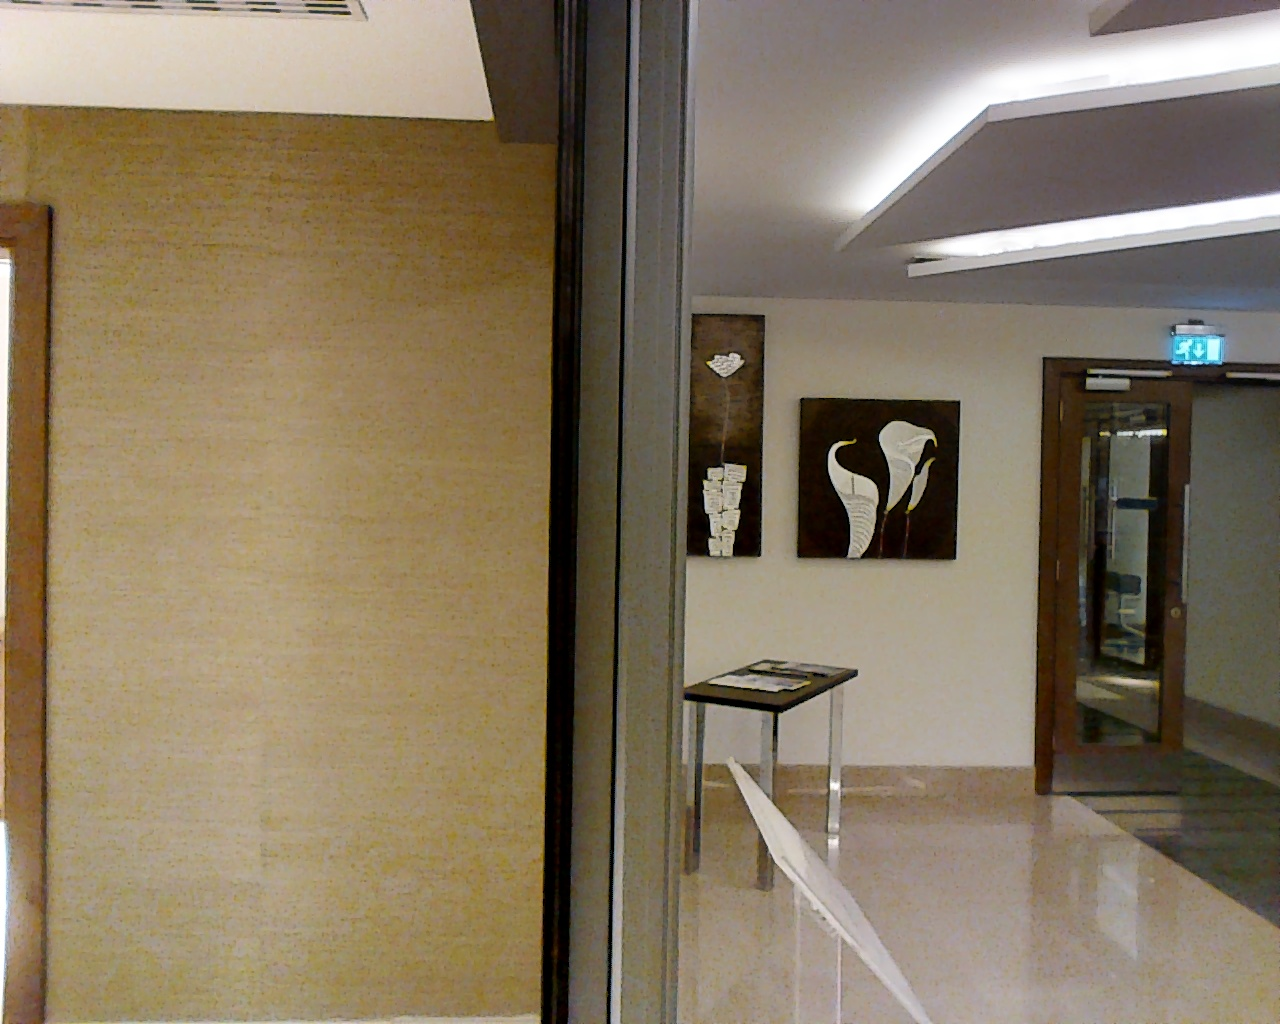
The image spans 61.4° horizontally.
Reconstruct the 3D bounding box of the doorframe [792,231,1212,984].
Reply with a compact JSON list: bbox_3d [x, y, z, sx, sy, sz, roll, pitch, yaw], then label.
[{"bbox_3d":[1.600,0.280,6.400,0.200,2.501,5.660,1,1,-4],"label":"doorframe"}]
